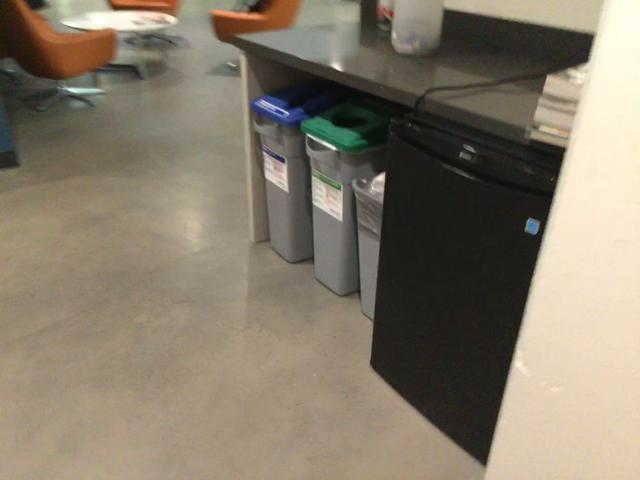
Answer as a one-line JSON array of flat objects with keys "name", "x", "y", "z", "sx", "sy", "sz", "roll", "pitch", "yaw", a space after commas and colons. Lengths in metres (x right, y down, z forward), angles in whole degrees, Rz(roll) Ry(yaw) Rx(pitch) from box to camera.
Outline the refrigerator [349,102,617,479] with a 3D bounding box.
[{"name": "refrigerator", "x": 0.330, "y": 0.130, "z": 1.460, "sx": 0.130, "sy": 0.810, "sz": 0.550, "roll": -16, "pitch": 34, "yaw": -33}]
